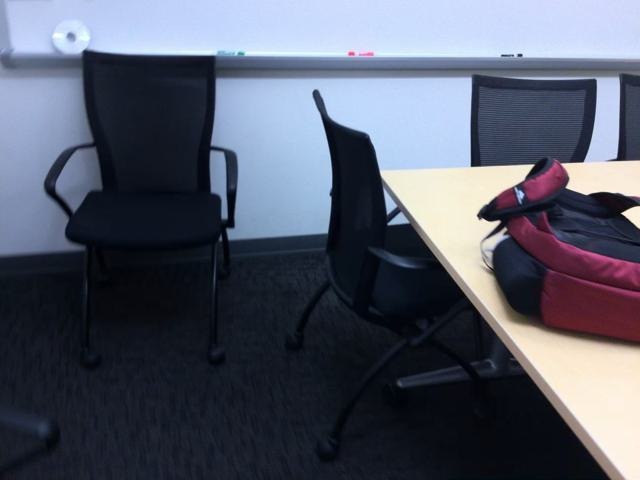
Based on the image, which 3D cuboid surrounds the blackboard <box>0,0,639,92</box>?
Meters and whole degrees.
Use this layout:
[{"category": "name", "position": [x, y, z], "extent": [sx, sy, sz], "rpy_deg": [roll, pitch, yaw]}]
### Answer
[{"category": "blackboard", "position": [0.360, -1.100, 2.090], "extent": [3.110, 1.050, 0.220], "rpy_deg": [-3, 28, -12]}]
